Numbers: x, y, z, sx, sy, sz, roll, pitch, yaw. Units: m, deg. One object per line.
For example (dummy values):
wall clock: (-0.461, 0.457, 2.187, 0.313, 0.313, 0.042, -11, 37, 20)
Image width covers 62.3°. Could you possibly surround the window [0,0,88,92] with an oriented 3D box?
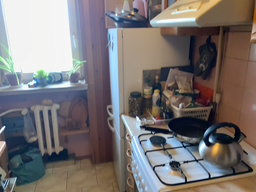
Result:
window: (-0.900, -0.730, 2.100, 0.900, 1.340, 0.120, -5, 18, -12)
